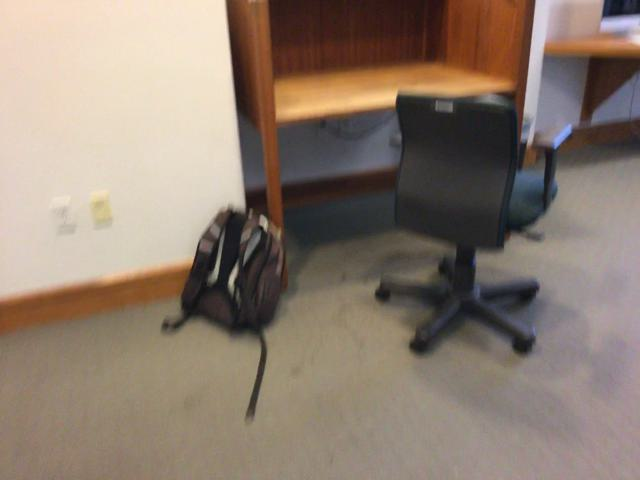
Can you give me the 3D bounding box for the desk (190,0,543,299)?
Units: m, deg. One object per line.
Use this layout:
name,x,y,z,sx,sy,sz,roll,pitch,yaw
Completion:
desk,0.160,-0.700,2.810,1.330,1.420,1.010,-11,25,-14

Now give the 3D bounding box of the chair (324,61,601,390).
chair,0.540,-0.130,2.150,0.710,0.920,0.740,11,28,30
